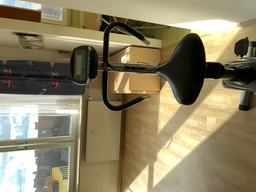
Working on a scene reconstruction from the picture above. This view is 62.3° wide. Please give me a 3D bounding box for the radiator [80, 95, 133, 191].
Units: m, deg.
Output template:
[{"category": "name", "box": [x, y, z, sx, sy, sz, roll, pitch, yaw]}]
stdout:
[{"category": "radiator", "box": [-0.390, 0.950, 3.820, 0.210, 0.840, 1.910, -170, 81, -67]}]
